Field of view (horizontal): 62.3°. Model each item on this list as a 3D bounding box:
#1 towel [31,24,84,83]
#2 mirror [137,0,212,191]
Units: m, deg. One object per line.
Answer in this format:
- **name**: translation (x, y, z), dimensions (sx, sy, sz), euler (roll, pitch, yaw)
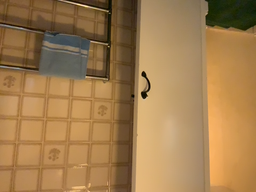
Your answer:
- **towel**: translation (-0.460, -0.270, 1.400), dimensions (0.310, 0.320, 0.100), euler (5, 170, -25)
- **mirror**: translation (0.380, -0.010, 1.600), dimensions (0.840, 1.930, 0.020), euler (8, 169, -41)
